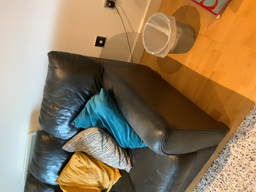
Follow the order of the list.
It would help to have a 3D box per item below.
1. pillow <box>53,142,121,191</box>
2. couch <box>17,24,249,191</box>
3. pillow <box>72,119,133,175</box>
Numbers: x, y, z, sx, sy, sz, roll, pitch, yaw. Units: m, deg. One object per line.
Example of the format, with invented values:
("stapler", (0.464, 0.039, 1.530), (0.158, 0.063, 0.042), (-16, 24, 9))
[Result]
("pillow", (-0.300, 0.580, 1.620), (0.290, 0.410, 0.190), (-37, 50, 2))
("couch", (-0.290, 0.670, 1.800), (1.140, 0.910, 2.040), (49, 129, 41))
("pillow", (-0.160, 0.380, 1.510), (0.260, 0.460, 0.100), (-31, 49, -4))
